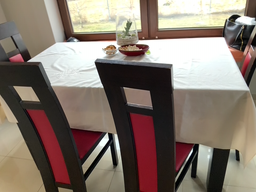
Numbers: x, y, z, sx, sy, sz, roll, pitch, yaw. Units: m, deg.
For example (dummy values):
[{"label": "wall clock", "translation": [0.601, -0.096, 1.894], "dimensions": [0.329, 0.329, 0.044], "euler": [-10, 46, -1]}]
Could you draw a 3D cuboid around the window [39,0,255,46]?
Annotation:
[{"label": "window", "translation": [0.080, -1.360, 1.910], "dimensions": [2.200, 1.790, 0.230], "euler": [4, 32, 16]}]
